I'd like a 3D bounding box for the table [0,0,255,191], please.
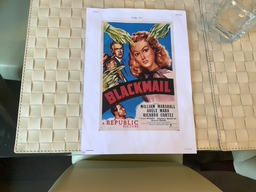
[{"bbox_3d":[0.250,-0.210,0.820,1.730,0.760,0.920,0,76,-5],"label":"table"}]
